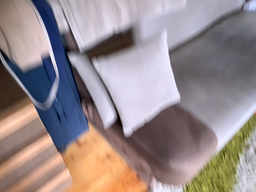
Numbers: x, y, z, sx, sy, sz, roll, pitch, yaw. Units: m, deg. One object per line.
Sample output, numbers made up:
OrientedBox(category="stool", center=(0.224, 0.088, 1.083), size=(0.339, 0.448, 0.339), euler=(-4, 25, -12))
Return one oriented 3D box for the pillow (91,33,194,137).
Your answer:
OrientedBox(category="pillow", center=(0.080, -0.060, 0.910), size=(0.340, 0.290, 0.190), euler=(-33, 25, -32))
